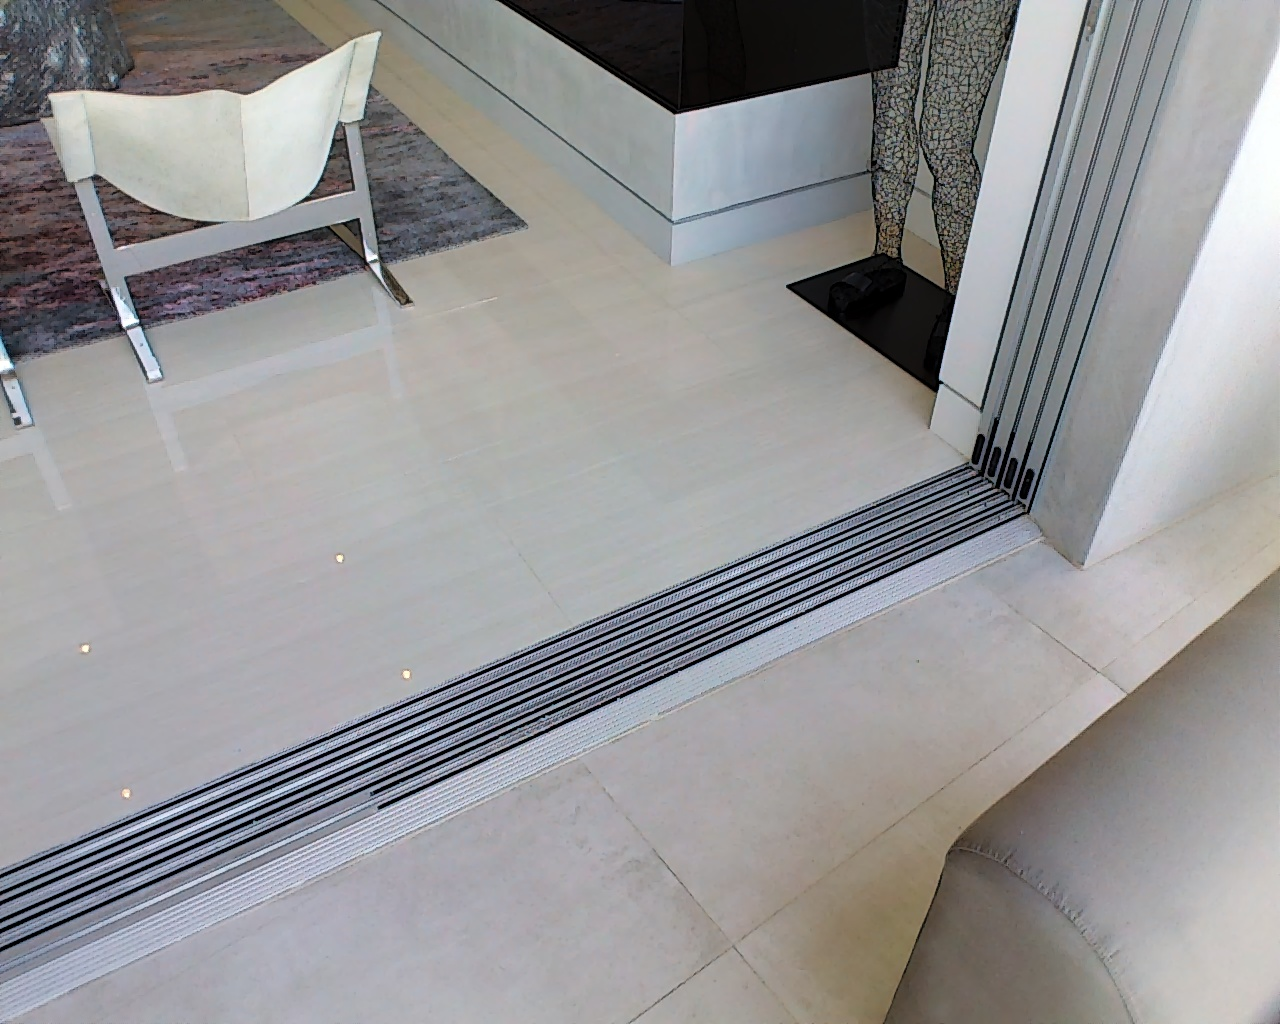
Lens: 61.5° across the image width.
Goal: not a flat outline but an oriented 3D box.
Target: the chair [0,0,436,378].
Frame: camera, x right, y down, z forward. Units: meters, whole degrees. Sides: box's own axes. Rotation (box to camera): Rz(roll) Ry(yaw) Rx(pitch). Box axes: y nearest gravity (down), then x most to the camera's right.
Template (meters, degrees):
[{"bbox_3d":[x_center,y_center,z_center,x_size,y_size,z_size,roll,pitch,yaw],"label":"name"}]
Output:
[{"bbox_3d":[-1.060,-0.910,2.750,0.760,0.680,0.700,-23,47,-23],"label":"chair"}]

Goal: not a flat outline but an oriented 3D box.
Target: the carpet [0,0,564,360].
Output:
[{"bbox_3d":[-2.580,-1.590,4.040,3.010,0.010,4.090,-22,46,-23],"label":"carpet"}]
